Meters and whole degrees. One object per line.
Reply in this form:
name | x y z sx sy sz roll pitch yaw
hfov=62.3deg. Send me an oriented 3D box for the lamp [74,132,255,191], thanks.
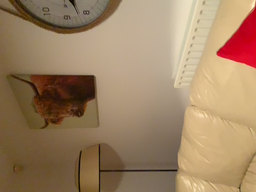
lamp | 0.320 0.710 2.110 0.460 1.570 0.510 94 174 -45
